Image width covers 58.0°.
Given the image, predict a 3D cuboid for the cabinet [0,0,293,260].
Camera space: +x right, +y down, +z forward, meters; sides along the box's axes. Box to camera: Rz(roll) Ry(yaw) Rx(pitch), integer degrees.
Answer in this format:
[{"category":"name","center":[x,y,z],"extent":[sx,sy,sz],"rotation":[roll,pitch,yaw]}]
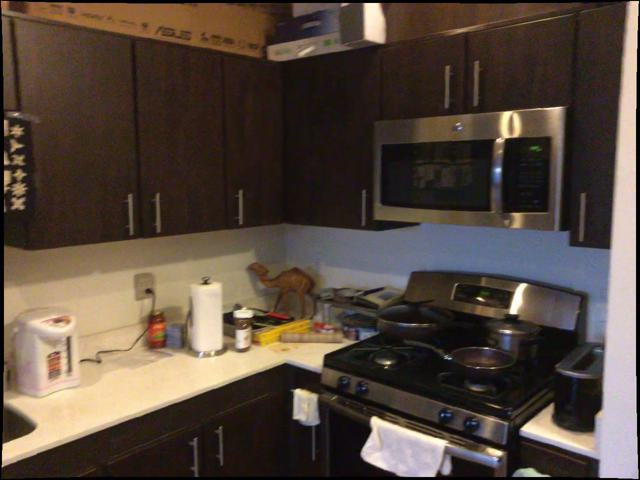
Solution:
[{"category":"cabinet","center":[-1.097,-0.361,1.850],"extent":[0.370,0.802,2.417],"rotation":[10,12,43]}]

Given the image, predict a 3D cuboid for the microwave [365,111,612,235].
[{"category":"microwave","center":[0.599,-0.281,2.140],"extent":[0.739,0.371,0.450],"rotation":[10,16,43]}]

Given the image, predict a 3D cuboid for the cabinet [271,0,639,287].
[{"category":"cabinet","center":[0.619,-0.461,2.350],"extent":[1.568,0.902,0.749],"rotation":[10,16,43]}]
